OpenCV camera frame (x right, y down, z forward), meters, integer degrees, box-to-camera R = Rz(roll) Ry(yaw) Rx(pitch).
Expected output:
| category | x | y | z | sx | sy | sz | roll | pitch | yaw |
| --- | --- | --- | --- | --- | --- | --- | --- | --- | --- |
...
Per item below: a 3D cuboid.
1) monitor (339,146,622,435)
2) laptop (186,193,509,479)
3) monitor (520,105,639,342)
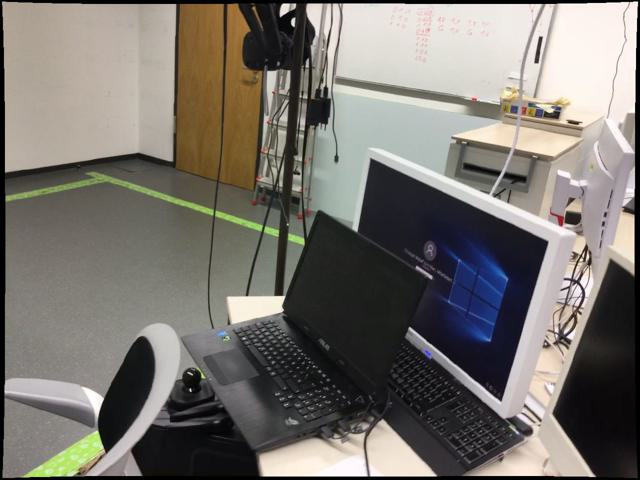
| category | x | y | z | sx | sy | sz | roll | pitch | yaw |
| --- | --- | --- | --- | --- | --- | --- | --- | --- | --- |
| monitor | 0.300 | 0.060 | 1.310 | 0.270 | 0.430 | 0.560 | -5 | 22 | -23 |
| laptop | 0.010 | 0.150 | 1.220 | 0.500 | 0.360 | 0.480 | -4 | 22 | -21 |
| monitor | 0.839 | -0.100 | 1.780 | 0.250 | 0.530 | 0.680 | 13 | 22 | 22 |
